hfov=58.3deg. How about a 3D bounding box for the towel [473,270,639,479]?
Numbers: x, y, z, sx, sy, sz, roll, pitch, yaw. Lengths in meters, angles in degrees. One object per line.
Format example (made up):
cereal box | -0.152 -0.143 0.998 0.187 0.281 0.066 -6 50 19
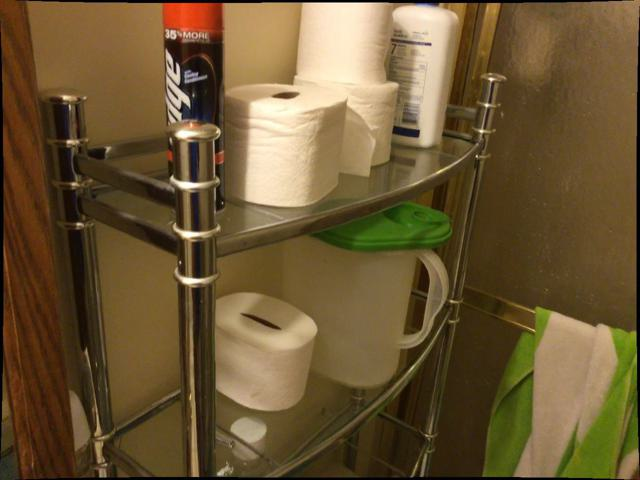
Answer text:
towel | 0.500 0.580 1.190 0.320 0.981 0.200 13 25 33

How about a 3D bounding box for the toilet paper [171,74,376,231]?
toilet paper | -0.050 -0.110 0.650 0.150 0.120 0.170 19 28 30

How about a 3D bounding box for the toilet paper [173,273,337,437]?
toilet paper | -0.090 0.150 0.800 0.170 0.120 0.140 19 28 30

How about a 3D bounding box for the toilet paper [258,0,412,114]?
toilet paper | 0.020 -0.260 0.790 0.150 0.130 0.140 19 28 30

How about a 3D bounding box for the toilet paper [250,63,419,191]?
toilet paper | 0.020 -0.160 0.770 0.150 0.120 0.170 19 28 30
